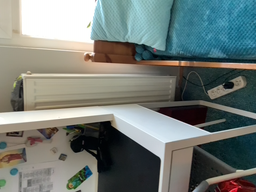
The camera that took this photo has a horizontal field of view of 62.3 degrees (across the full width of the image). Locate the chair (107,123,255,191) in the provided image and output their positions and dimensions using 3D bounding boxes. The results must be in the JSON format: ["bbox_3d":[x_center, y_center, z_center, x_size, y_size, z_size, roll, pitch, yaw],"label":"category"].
[{"bbox_3d":[0.350,0.390,0.940,0.450,0.750,0.340,21,110,56],"label":"chair"}]

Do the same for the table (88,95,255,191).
[{"bbox_3d":[0.240,0.570,1.140,0.570,0.740,1.040,20,109,57],"label":"table"}]
